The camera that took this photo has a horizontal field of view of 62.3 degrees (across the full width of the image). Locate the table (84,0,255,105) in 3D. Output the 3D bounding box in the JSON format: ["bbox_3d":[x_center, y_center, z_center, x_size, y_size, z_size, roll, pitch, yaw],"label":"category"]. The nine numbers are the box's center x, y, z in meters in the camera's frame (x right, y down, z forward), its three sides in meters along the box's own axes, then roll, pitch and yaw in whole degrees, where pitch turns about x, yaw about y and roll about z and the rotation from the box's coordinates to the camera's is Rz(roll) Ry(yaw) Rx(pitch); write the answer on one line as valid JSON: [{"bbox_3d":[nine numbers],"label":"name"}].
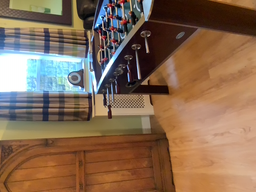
[{"bbox_3d":[0.180,-0.600,1.990,1.700,0.880,0.920,138,130,-62],"label":"table"}]
